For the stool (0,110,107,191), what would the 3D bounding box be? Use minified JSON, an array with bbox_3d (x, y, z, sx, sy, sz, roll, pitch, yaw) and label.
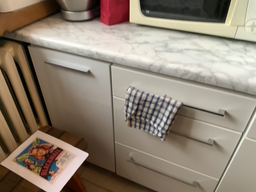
[{"bbox_3d":[-0.350,0.400,1.050,0.300,0.450,0.400,18,41,21],"label":"stool"}]
